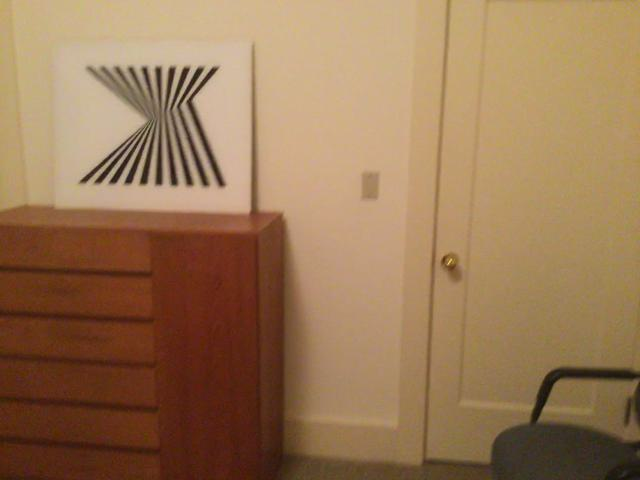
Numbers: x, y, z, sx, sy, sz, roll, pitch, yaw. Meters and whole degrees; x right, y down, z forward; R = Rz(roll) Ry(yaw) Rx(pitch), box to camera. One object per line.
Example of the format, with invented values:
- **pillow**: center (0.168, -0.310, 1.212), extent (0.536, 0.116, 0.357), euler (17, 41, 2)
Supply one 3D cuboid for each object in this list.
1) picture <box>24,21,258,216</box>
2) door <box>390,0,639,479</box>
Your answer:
- **picture**: center (-0.670, -0.460, 2.220), extent (0.850, 0.700, 0.120), euler (2, 10, 4)
- **door**: center (0.890, -0.090, 2.130), extent (1.170, 2.100, 0.190), euler (2, 10, 4)
